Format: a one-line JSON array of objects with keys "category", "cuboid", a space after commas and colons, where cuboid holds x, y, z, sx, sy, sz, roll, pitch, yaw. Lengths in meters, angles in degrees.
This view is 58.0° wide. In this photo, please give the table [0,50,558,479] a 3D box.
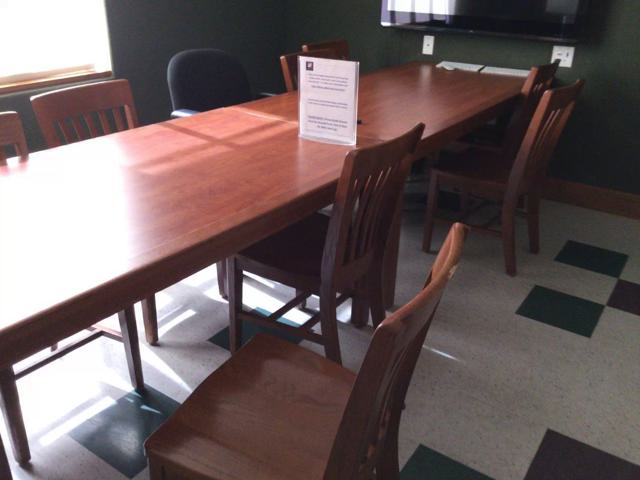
[{"category": "table", "cuboid": [-0.100, -0.150, 2.410, 1.050, 0.820, 3.630, 17, 30, 30]}]
